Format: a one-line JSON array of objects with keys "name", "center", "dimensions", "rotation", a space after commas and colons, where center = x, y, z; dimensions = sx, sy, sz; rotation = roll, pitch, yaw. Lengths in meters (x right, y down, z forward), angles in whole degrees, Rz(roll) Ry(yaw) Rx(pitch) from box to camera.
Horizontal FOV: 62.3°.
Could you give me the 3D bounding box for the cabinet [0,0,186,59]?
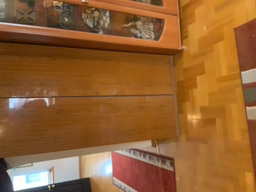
[{"name": "cabinet", "center": [-0.400, -0.810, 2.010], "dimensions": [0.440, 1.980, 0.720], "rotation": [-13, 80, 63]}]
